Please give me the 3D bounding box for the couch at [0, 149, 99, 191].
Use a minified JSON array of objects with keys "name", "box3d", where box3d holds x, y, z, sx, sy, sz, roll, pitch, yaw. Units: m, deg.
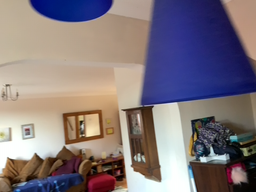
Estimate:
[{"name":"couch","box3d":[-1.750,1.800,4.580,1.910,0.850,1.010,-3,-5,-34]}]
